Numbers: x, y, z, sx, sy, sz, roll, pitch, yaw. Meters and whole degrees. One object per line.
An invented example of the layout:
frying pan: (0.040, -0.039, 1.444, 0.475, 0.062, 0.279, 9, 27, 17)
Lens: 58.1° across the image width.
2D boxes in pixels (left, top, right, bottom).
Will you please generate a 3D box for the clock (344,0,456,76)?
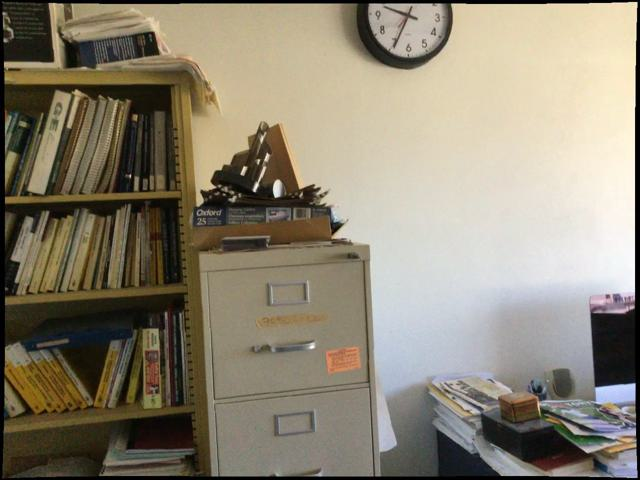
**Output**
clock: (0.289, -0.802, 2.090, 0.389, 0.381, 0.050, -5, 3, -11)
